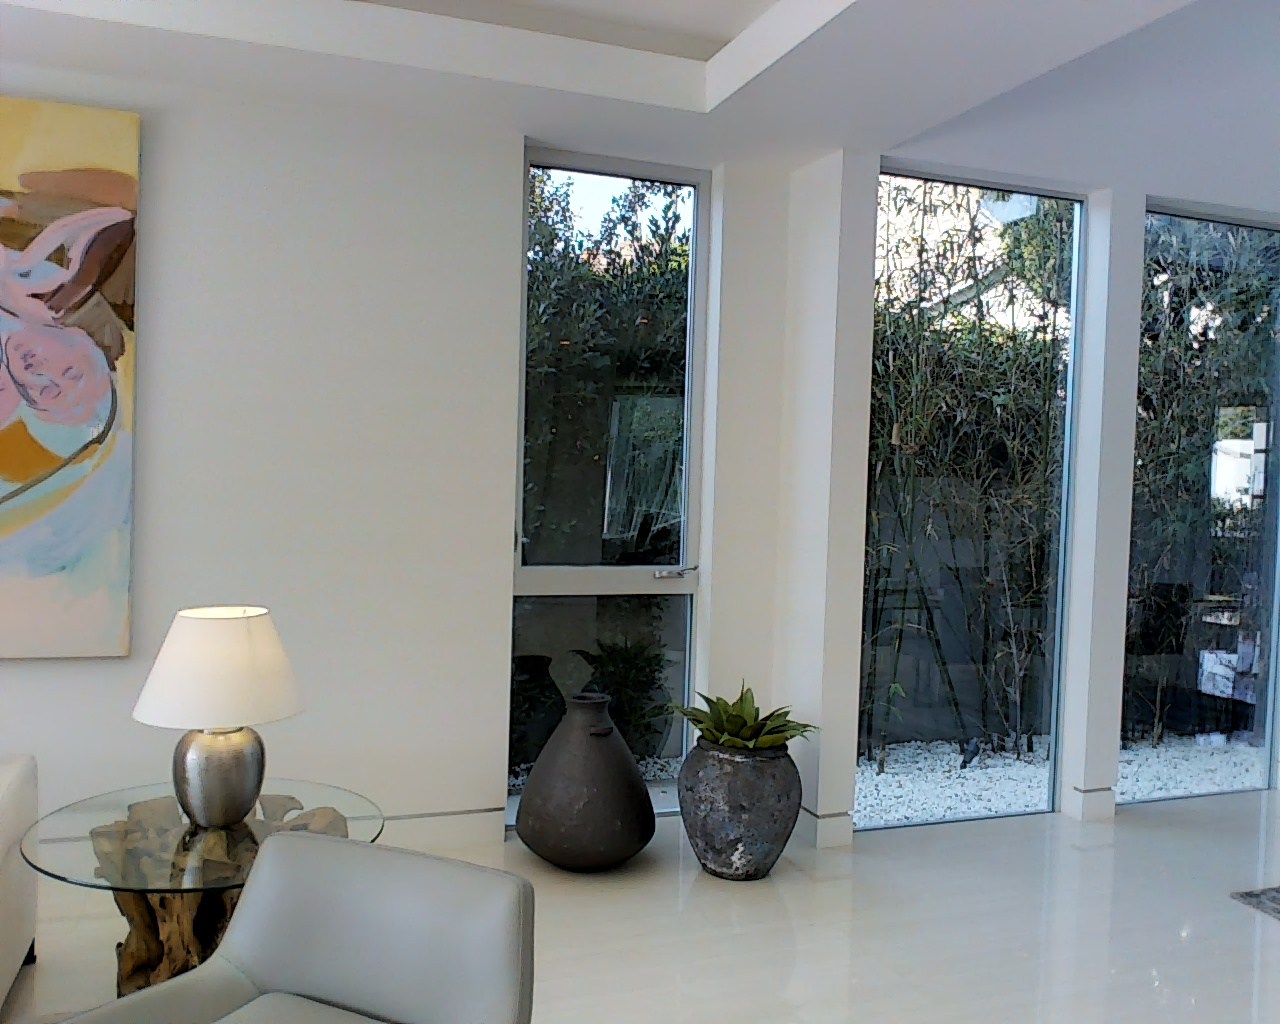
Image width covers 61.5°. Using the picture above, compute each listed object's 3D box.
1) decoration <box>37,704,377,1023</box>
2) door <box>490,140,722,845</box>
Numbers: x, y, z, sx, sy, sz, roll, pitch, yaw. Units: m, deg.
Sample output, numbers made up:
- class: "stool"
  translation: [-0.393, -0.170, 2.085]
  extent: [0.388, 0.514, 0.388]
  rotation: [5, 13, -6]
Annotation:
- class: "decoration"
  translation: [-1.149, 1.000, 2.970]
  extent: [0.660, 0.780, 0.640]
  rotation: [2, 2, 2]
- class: "door"
  translation: [-0.150, -0.060, 4.610]
  extent: [0.880, 2.841, 0.270]
  rotation: [1, 3, -20]
